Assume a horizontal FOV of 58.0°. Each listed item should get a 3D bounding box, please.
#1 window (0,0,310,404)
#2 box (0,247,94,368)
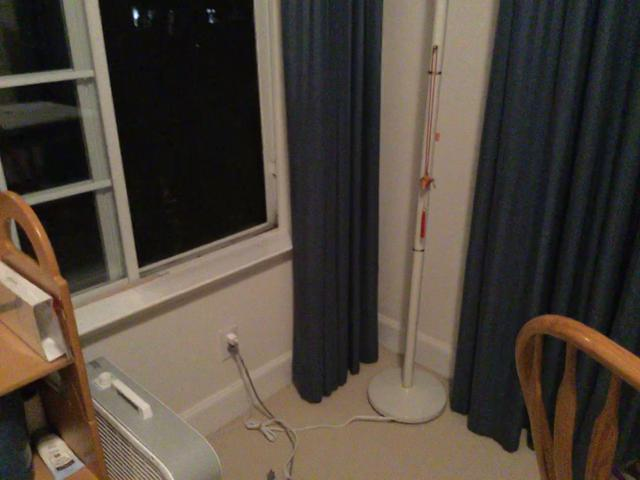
[{"bbox_3d":[-0.490,-0.190,1.610,0.250,0.890,1.030,17,26,42],"label":"window"},{"bbox_3d":[-0.540,0.120,1.110,0.290,0.140,0.060,17,26,42],"label":"box"}]
